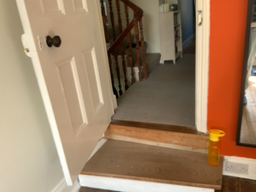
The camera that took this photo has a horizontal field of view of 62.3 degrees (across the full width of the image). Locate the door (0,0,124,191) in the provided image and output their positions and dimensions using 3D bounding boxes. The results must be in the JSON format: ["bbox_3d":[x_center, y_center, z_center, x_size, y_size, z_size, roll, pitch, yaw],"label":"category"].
[{"bbox_3d":[-0.360,-0.610,1.240,0.160,2.430,0.920,-1,22,15],"label":"door"}]
